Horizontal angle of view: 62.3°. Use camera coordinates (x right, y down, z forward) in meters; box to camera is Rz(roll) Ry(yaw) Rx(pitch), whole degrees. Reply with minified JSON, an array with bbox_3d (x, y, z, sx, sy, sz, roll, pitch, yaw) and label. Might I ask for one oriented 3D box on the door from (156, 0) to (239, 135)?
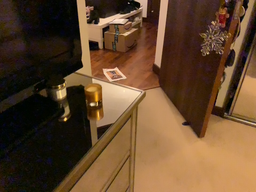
[{"bbox_3d":[0.470,-0.770,1.540,0.050,1.930,0.990,-5,34,-11],"label":"door"}]
